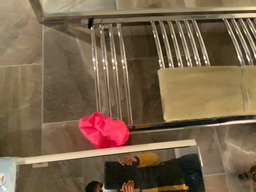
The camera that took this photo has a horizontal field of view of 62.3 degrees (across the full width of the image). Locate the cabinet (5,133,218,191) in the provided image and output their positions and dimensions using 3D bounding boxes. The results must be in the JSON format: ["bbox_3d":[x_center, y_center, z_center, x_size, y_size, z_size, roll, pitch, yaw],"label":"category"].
[{"bbox_3d":[-0.040,0.460,0.810,0.120,0.780,0.540,106,159,-71],"label":"cabinet"}]

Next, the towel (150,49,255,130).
[{"bbox_3d":[0.380,-0.030,0.990,0.160,0.490,0.310,109,155,-74],"label":"towel"}]
